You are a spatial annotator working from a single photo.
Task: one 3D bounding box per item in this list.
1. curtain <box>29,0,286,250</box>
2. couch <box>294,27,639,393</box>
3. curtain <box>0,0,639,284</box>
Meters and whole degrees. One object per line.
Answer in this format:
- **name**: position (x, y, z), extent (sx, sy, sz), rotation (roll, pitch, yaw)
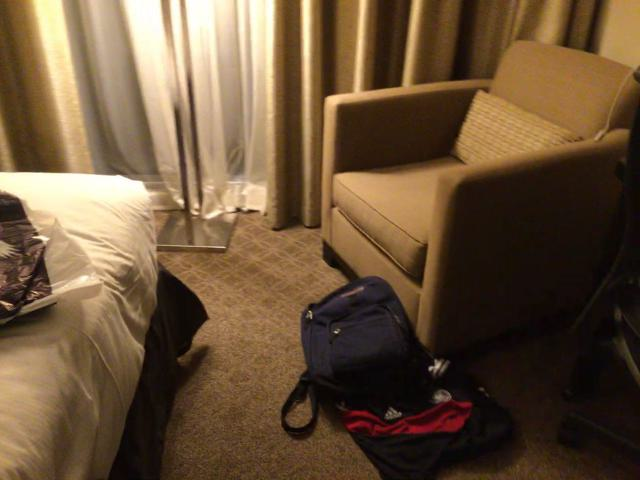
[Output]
- **curtain**: position (-0.610, -0.810, 2.320), extent (0.890, 1.740, 0.340), rotation (-1, 28, -1)
- **couch**: position (0.500, -0.210, 2.010), extent (0.870, 0.850, 0.910), rotation (-13, 30, -23)
- **curtain**: position (-0.740, -0.800, 2.020), extent (3.470, 1.840, 0.610), rotation (-1, 28, -1)
